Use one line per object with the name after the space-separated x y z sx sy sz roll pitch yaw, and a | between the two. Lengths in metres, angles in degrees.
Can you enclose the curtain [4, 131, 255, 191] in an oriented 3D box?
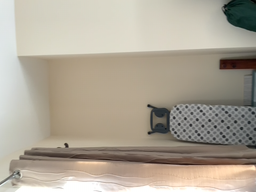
0.030 0.380 1.290 0.460 1.360 0.200 -25 -66 -81 | curtain
